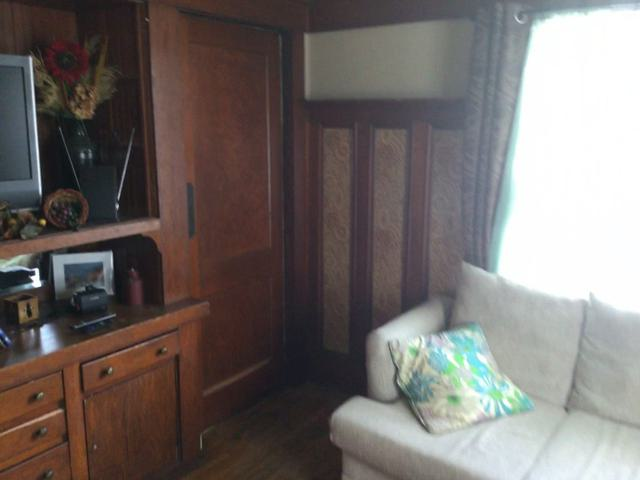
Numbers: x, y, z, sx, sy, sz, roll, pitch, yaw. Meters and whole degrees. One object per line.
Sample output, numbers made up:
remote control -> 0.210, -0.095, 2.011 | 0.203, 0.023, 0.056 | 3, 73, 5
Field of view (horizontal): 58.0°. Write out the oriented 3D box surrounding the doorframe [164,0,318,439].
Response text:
doorframe -> -0.370, -0.090, 2.910 | 0.180, 1.920, 0.860 | 7, 7, 33

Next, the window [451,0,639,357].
window -> 1.380, -0.270, 2.220 | 1.510, 1.440, 0.300 | 15, 15, 33
